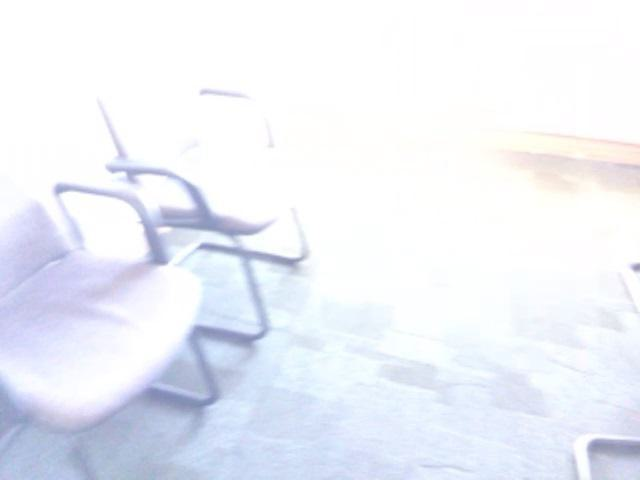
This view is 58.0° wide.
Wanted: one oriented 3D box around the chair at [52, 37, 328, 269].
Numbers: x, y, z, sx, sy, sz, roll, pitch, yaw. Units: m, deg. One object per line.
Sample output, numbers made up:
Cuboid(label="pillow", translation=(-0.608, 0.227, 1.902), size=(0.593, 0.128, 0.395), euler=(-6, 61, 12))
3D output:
Cuboid(label="chair", translation=(-0.350, -0.320, 1.870), size=(0.570, 0.490, 0.620), euler=(7, 35, 16))

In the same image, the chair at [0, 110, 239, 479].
Cuboid(label="chair", translation=(-0.640, 0.110, 1.320), size=(0.640, 0.600, 0.590), euler=(7, 35, 16))
